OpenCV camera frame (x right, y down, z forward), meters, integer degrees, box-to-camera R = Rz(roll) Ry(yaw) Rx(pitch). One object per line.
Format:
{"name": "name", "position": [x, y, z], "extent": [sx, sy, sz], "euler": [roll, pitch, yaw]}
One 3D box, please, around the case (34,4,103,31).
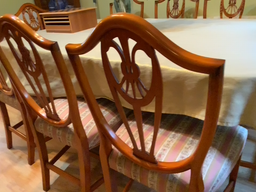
{"name": "case", "position": [-0.470, -0.640, 1.710], "extent": [0.400, 0.150, 0.330], "euler": [13, 33, 31]}

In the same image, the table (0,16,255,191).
{"name": "table", "position": [0.030, -0.110, 1.590], "extent": [1.900, 0.760, 1.110], "euler": [14, 33, 33]}
